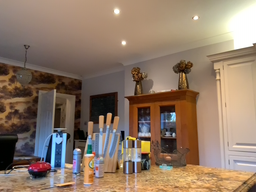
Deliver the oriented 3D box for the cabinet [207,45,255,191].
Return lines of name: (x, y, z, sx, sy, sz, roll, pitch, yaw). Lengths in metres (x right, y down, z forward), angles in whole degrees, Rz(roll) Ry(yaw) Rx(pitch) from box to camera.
cabinet: (1.450, 0.500, 2.750, 0.640, 2.200, 0.310, -6, -10, 39)

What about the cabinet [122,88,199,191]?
cabinet: (0.480, 0.820, 3.430, 1.150, 1.750, 0.400, -6, -10, 39)
